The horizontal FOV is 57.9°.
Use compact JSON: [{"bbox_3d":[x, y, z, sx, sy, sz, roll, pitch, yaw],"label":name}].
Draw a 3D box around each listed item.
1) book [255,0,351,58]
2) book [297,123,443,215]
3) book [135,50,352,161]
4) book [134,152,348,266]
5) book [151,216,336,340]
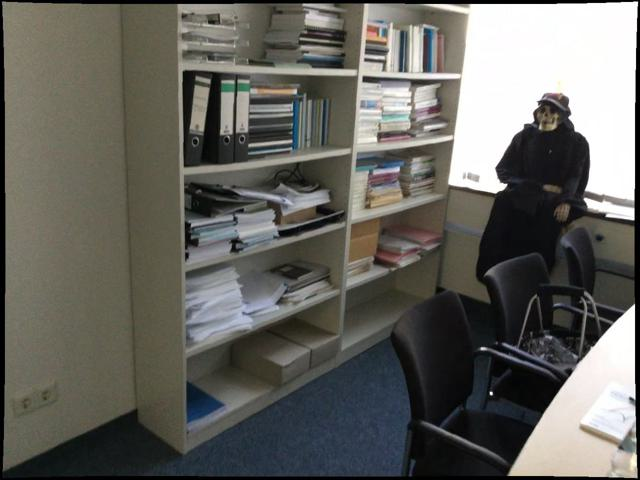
[{"bbox_3d":[-0.070,-0.971,2.490,0.250,0.340,0.340,17,24,35],"label":"book"},{"bbox_3d":[0.290,-0.410,3.100,0.340,0.320,0.850,17,24,35],"label":"book"},{"bbox_3d":[-0.270,-0.581,2.370,0.320,0.350,0.890,17,24,35],"label":"book"},{"bbox_3d":[-0.290,-0.170,2.460,0.320,0.250,0.920,17,24,35],"label":"book"},{"bbox_3d":[-0.300,0.130,2.560,0.240,0.260,0.880,17,24,35],"label":"book"}]
